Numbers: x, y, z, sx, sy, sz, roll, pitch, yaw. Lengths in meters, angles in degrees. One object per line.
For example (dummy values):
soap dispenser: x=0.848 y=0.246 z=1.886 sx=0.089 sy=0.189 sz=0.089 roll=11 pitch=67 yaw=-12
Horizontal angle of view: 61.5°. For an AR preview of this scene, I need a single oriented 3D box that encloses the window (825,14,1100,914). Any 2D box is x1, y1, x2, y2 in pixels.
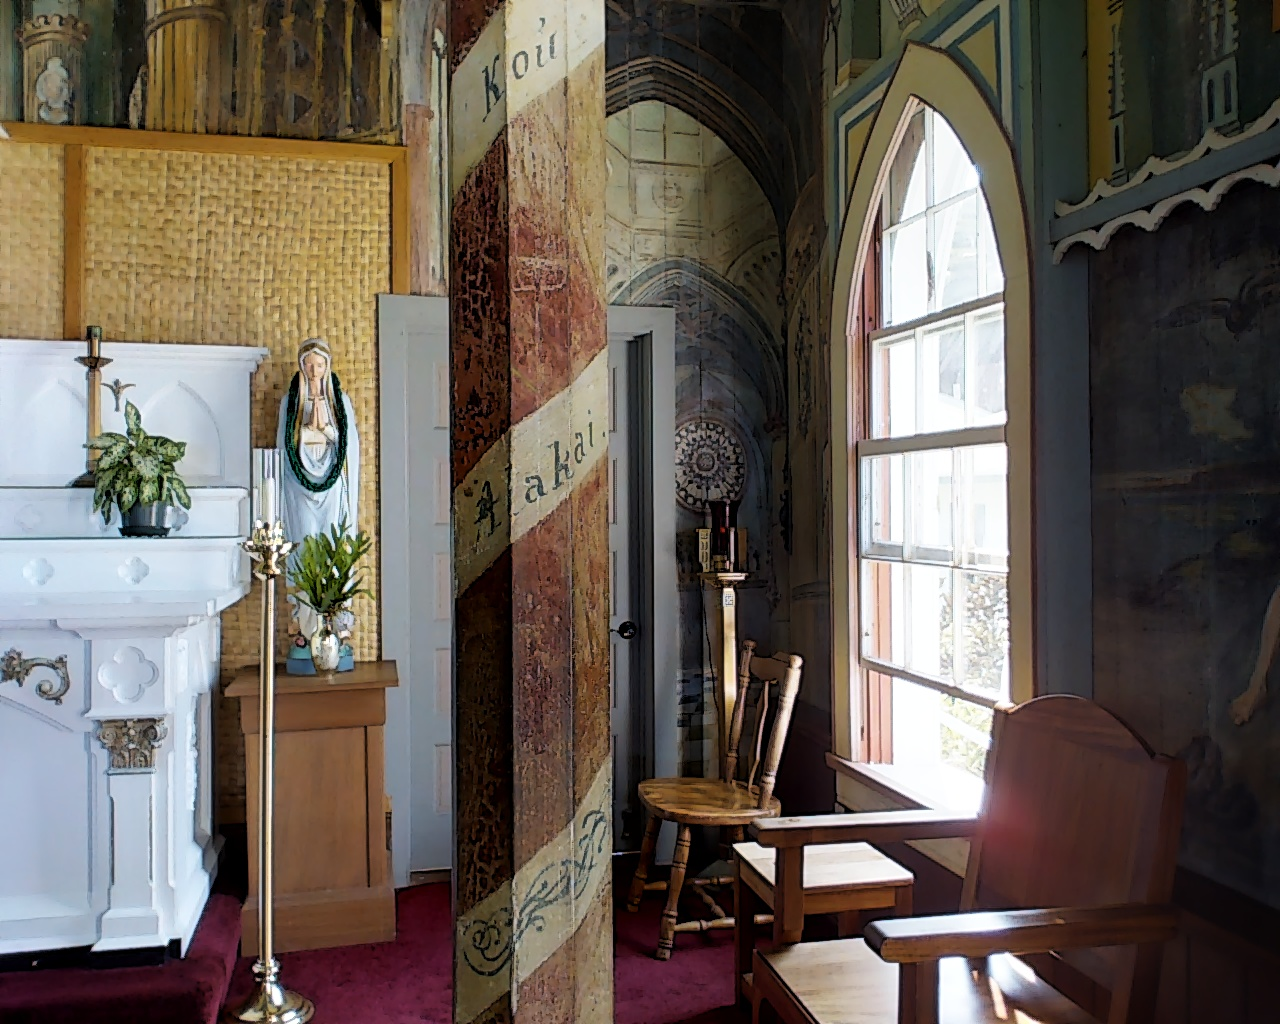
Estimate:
window: x=0.830 y=-0.110 z=2.980 sx=0.210 sy=2.031 sz=1.080 roll=0 pitch=1 yaw=-14
